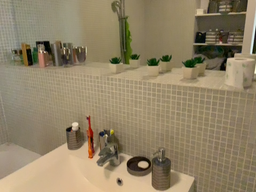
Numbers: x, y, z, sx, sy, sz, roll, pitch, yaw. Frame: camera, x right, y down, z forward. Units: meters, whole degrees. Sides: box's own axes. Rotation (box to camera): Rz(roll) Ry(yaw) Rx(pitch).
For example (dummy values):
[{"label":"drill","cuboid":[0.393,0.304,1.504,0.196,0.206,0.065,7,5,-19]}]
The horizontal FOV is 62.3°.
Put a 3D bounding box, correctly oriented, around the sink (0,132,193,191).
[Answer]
[{"label":"sink","cuboid":[-0.160,0.400,0.880,0.700,0.160,0.520,9,19,30]}]
